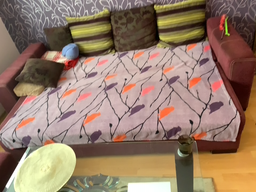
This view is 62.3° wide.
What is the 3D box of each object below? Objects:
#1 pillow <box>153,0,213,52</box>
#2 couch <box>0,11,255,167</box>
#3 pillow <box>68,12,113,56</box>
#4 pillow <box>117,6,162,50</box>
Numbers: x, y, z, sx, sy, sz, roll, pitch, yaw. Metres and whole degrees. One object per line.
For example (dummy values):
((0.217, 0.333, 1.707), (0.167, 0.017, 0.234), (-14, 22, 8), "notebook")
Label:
((0.600, -0.830, 2.440), (0.510, 0.500, 0.220), (12, 35, -2), "pillow")
((-0.150, -0.140, 2.250), (2.530, 0.630, 1.550), (-5, 37, 11), "couch")
((-0.440, -0.760, 2.620), (0.490, 0.430, 0.260), (3, 37, -1), "pillow")
((0.120, -0.810, 2.540), (0.500, 0.460, 0.190), (1, 37, -2), "pillow")
